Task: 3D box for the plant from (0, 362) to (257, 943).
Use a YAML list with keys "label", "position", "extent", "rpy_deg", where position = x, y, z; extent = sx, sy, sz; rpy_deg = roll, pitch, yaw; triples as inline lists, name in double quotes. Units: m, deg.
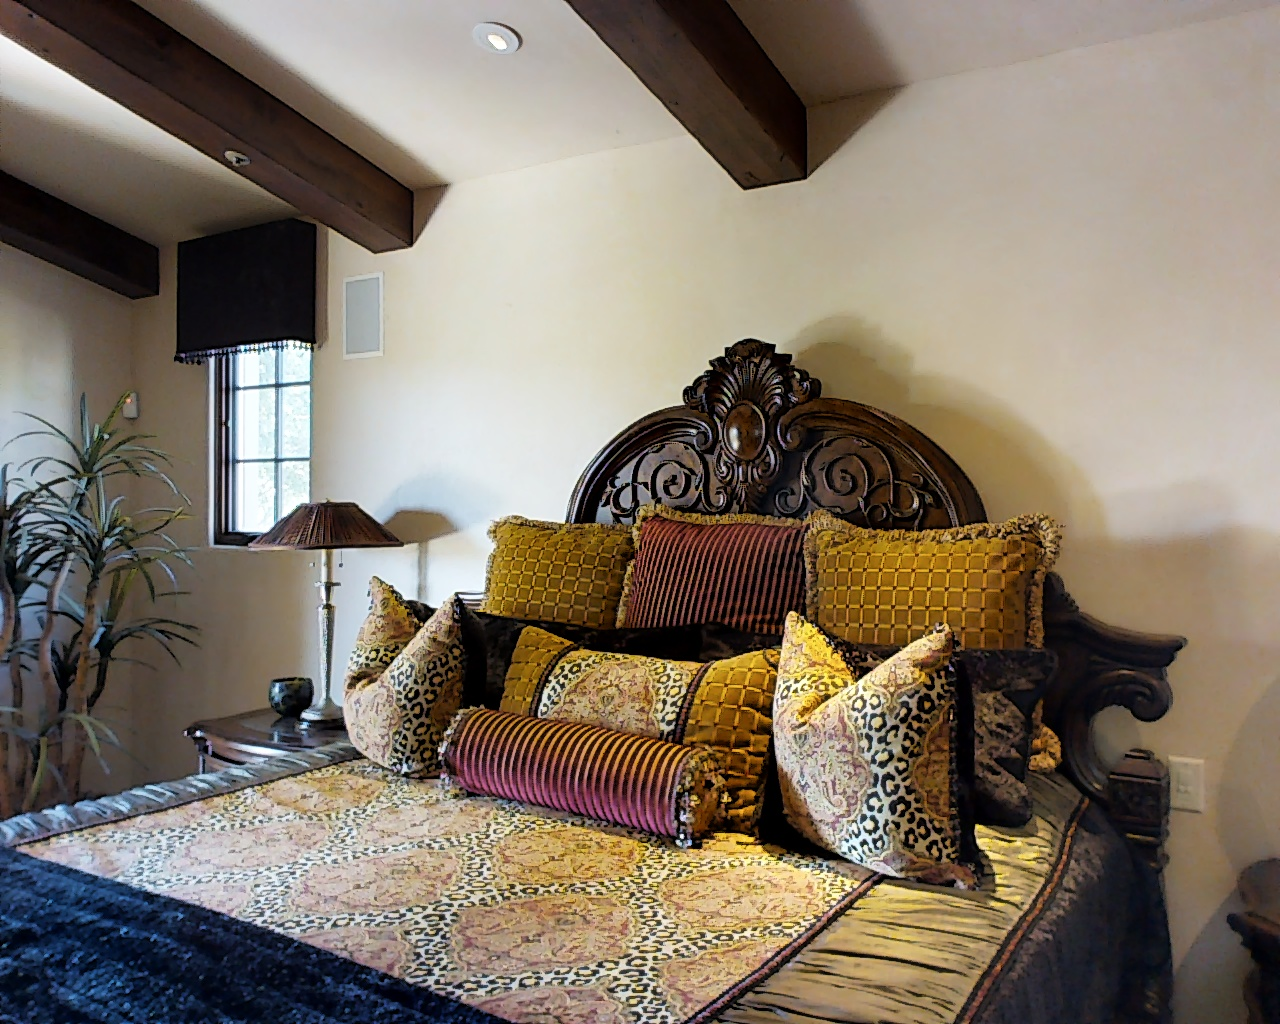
- label: "plant"
  position: [-2.200, 0.470, 4.170]
  extent: [0.820, 1.930, 1.030]
  rpy_deg: [0, 0, 34]
